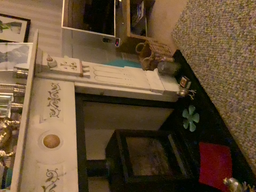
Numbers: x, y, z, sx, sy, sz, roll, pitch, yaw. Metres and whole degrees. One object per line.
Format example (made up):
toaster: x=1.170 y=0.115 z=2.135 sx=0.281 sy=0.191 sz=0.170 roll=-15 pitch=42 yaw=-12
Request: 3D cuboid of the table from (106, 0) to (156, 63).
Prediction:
table: x=0.000 y=-1.160 z=2.840 sx=0.640 sy=0.400 sz=1.220 roll=148 pitch=124 yaw=-62
